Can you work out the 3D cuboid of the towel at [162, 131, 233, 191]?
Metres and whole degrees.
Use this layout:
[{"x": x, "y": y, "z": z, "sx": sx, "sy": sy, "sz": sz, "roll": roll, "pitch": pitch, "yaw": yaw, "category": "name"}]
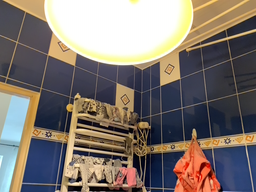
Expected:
[{"x": 0.390, "y": 0.740, "z": 1.180, "sx": 0.150, "sy": 1.020, "sz": 0.370, "roll": 21, "pitch": -28, "yaw": -37, "category": "towel"}]
